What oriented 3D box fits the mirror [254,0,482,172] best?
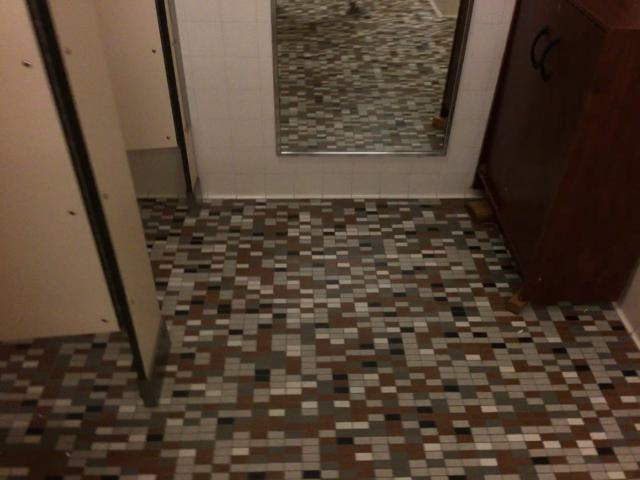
[{"bbox_3d":[0.140,-0.700,1.790,0.670,1.050,0.140,0,38,-2],"label":"mirror"}]
